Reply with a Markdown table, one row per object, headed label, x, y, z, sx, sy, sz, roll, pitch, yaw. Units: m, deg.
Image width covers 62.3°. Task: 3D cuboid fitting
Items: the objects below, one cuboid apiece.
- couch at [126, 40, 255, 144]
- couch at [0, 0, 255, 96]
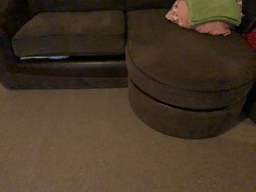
| label | x | y | z | sx | sy | sz | roll | pitch | yaw |
| --- | --- | --- | --- | --- | --- | --- | --- | --- | --- |
| couch | 0.400 | -0.040 | 1.420 | 0.810 | 0.460 | 0.510 | -1 | 41 | -1 |
| couch | -0.040 | -0.680 | 1.860 | 2.260 | 0.860 | 1.020 | -1 | 41 | -1 |
